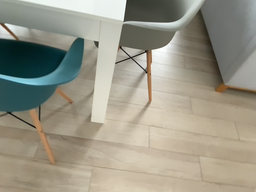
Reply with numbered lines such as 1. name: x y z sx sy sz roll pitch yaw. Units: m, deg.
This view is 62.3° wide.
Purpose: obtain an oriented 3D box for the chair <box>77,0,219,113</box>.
1. chair: 0.040 -0.420 1.400 0.610 0.820 0.620 10 51 -6
